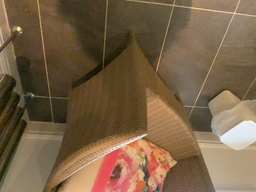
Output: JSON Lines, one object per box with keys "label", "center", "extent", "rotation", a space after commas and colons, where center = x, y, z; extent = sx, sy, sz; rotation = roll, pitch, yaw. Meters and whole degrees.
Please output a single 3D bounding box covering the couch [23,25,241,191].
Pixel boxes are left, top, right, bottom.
{"label": "couch", "center": [0.020, 0.260, 0.950], "extent": [0.640, 0.880, 0.550], "rotation": [-31, 125, 21]}
